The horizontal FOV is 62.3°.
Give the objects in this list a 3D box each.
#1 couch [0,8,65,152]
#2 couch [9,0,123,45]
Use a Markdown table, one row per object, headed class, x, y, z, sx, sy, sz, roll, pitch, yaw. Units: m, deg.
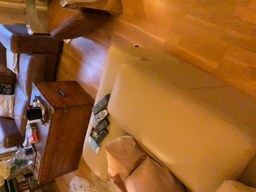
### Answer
| class | x | y | z | sx | sy | sz | roll | pitch | yaw |
| --- | --- | --- | --- | --- | --- | --- | --- | --- | --- |
| couch | -1.610 | -0.230 | 2.910 | 1.040 | 0.780 | 1.600 | 39 | 121 | 34 |
| couch | -0.590 | -0.980 | 1.890 | 0.730 | 0.670 | 0.810 | -7 | 91 | 45 |
